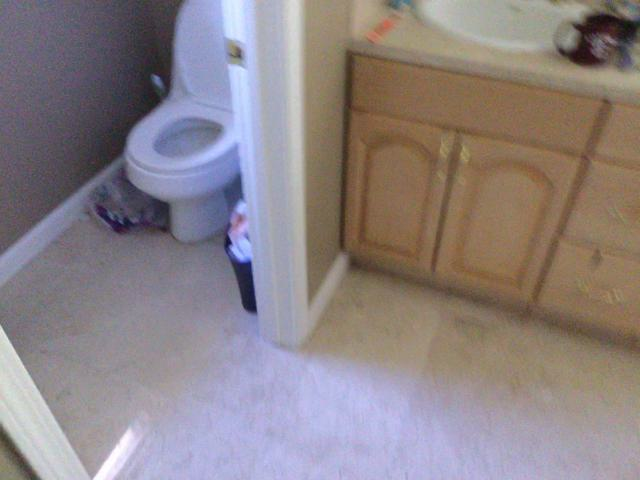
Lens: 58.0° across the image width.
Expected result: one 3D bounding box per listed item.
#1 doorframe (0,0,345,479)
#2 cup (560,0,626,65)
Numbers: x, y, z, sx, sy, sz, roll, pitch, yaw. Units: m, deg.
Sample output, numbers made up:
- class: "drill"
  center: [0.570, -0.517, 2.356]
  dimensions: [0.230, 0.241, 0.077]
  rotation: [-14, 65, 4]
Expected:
- class: "doorframe"
  center: [-0.310, -0.180, 0.770]
  dimensions: [0.290, 2.090, 1.030]
  rotation: [16, 44, 20]
- class: "cup"
  center: [0.610, -0.470, 1.290]
  dimensions: [0.100, 0.090, 0.140]
  rotation: [16, 45, 20]
